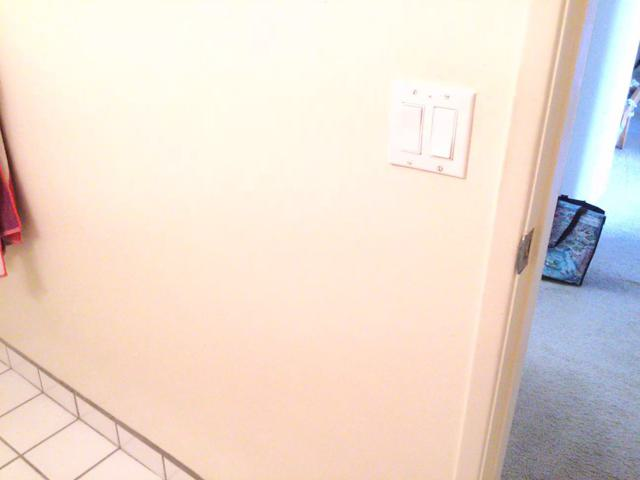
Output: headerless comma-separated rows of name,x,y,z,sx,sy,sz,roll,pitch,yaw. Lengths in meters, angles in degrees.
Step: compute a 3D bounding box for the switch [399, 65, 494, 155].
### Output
switch,0.160,-0.170,0.750,0.120,0.100,0.020,16,32,34
